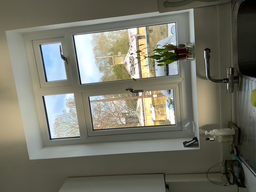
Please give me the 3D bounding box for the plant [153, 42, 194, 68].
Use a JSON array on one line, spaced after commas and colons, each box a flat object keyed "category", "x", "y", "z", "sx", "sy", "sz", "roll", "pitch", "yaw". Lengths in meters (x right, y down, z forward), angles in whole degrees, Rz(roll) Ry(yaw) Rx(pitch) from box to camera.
[{"category": "plant", "x": 0.320, "y": -0.290, "z": 1.520, "sx": 0.130, "sy": 0.270, "sz": 0.150, "roll": -68, "pitch": -28, "yaw": -78}]
